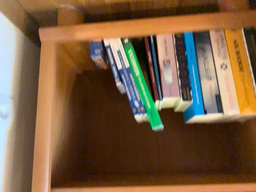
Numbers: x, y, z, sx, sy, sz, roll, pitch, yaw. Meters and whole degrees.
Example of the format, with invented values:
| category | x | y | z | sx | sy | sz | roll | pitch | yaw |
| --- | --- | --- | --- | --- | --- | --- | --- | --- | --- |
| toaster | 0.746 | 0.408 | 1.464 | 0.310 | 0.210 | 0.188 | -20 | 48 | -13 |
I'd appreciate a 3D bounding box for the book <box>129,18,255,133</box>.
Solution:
| category | x | y | z | sx | sy | sz | roll | pitch | yaw |
| --- | --- | --- | --- | --- | --- | --- | --- | --- | --- |
| book | 0.190 | -0.020 | 0.700 | 0.330 | 0.240 | 0.400 | -3 | 166 | 5 |
